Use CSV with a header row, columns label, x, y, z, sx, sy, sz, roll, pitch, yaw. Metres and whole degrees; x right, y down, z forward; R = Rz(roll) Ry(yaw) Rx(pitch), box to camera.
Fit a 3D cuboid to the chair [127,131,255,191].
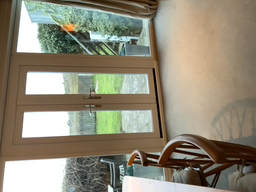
label,x,y,z,sx,sy,sz,roll,pitch,yaw
chair,0.430,0.560,1.460,0.440,0.770,0.500,114,153,-62
